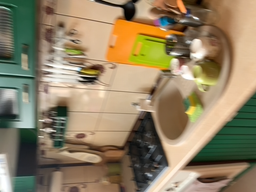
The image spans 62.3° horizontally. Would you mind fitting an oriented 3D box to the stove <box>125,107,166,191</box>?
[{"bbox_3d":[0.110,0.460,1.720,0.520,0.020,0.530,-106,28,-42],"label":"stove"}]
